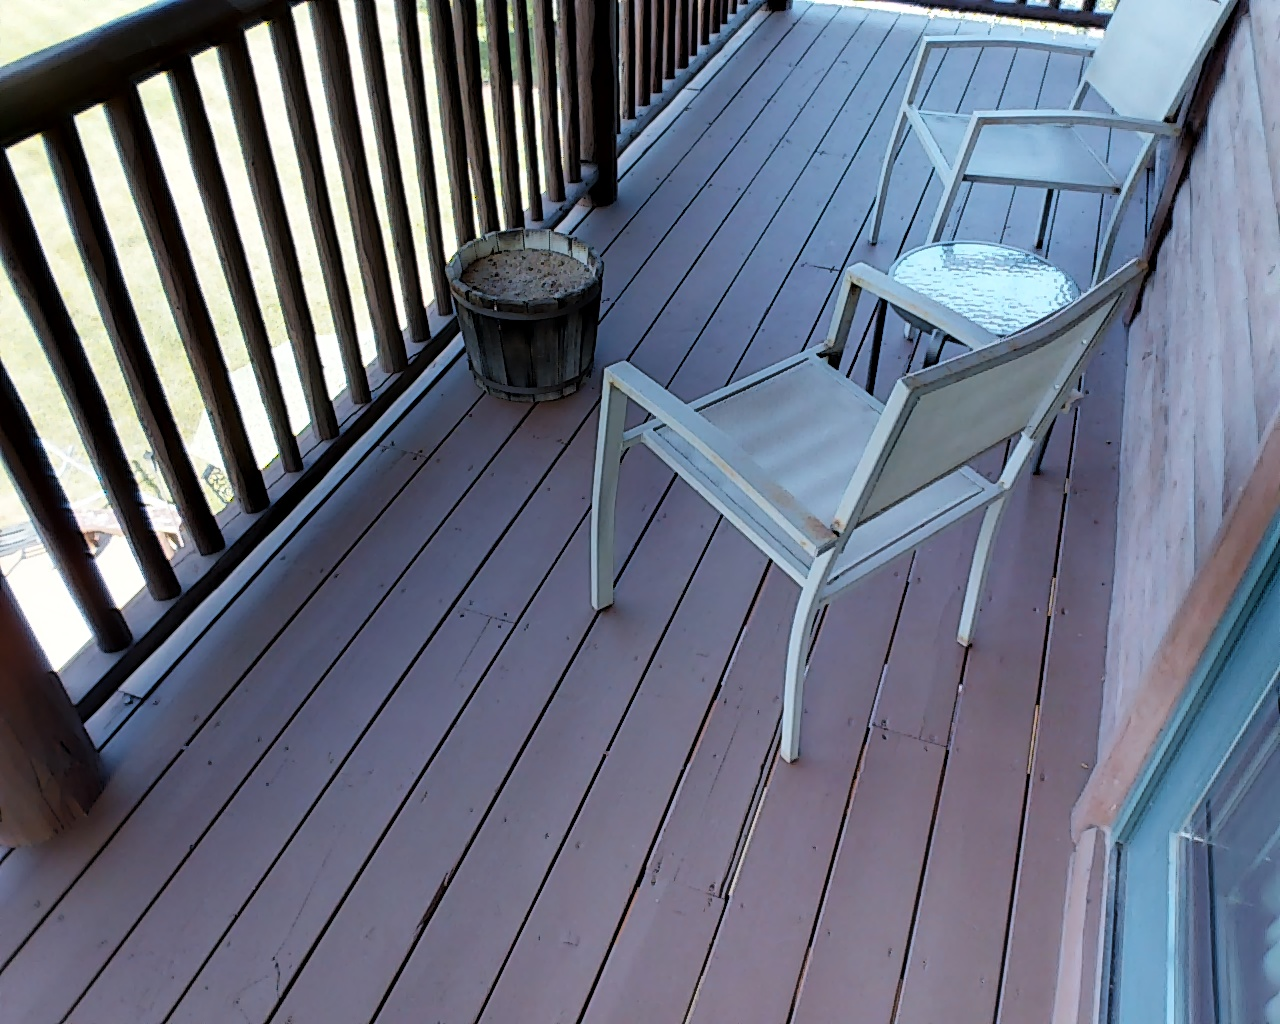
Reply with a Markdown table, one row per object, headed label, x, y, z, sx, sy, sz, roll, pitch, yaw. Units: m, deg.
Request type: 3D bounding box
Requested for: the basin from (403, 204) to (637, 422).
| label | x | y | z | sx | sy | sz | roll | pitch | yaw |
| --- | --- | --- | --- | --- | --- | --- | --- | --- | --- |
| basin | -0.280 | -0.510 | 2.700 | 0.410 | 0.290 | 0.440 | 15 | 43 | 16 |
